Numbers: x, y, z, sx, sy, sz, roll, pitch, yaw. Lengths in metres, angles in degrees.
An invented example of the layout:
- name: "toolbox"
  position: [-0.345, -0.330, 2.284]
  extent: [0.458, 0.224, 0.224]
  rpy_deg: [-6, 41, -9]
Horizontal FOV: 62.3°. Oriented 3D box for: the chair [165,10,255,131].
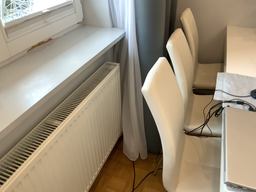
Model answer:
- name: "chair"
  position: [0.700, -0.220, 1.860]
  extent: [0.600, 0.890, 0.420]
  rpy_deg: [10, 36, 15]
